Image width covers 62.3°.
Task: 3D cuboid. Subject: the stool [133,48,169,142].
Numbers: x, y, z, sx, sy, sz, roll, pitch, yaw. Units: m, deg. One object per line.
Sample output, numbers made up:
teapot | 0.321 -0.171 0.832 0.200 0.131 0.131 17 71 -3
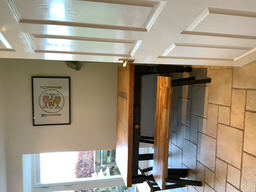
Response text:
stool | 0.340 -0.010 3.240 0.290 0.440 1.360 -156 67 -76

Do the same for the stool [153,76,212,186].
stool | 0.560 0.340 2.270 0.330 0.450 1.090 -154 64 -75

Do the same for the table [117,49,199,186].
table | 0.310 0.210 2.700 0.770 0.740 1.470 -154 64 -75
